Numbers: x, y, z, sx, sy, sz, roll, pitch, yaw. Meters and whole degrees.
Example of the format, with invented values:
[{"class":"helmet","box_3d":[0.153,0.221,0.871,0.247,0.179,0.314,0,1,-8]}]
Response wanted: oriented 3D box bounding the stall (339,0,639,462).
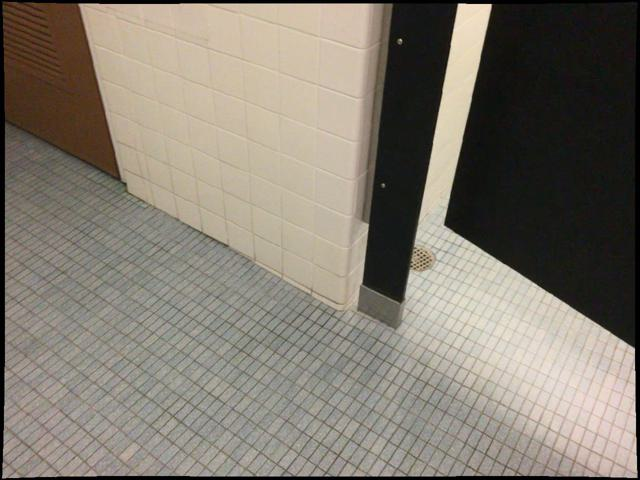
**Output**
[{"class":"stall","box_3d":[0.519,-0.030,1.200,0.998,1.082,0.090,23,44,23]}]
